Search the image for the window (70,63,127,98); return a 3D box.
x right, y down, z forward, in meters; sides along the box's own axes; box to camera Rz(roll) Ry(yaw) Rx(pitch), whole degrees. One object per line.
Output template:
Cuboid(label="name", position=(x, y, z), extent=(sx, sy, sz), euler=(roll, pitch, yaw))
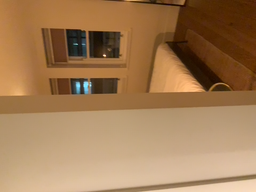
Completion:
Cuboid(label="window", position=(-0.600, -0.310, 4.370), extent=(0.080, 1.080, 0.770), euler=(-105, 17, -53))
